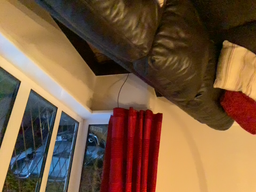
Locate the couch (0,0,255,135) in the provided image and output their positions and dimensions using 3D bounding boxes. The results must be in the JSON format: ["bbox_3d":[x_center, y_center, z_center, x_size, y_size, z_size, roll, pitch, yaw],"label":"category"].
[{"bbox_3d":[0.500,-0.520,1.310,1.030,0.890,2.360,-15,150,35],"label":"couch"}]

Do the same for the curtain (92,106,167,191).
[{"bbox_3d":[0.030,0.910,1.880,0.620,1.610,0.360,-1,155,11],"label":"curtain"}]
